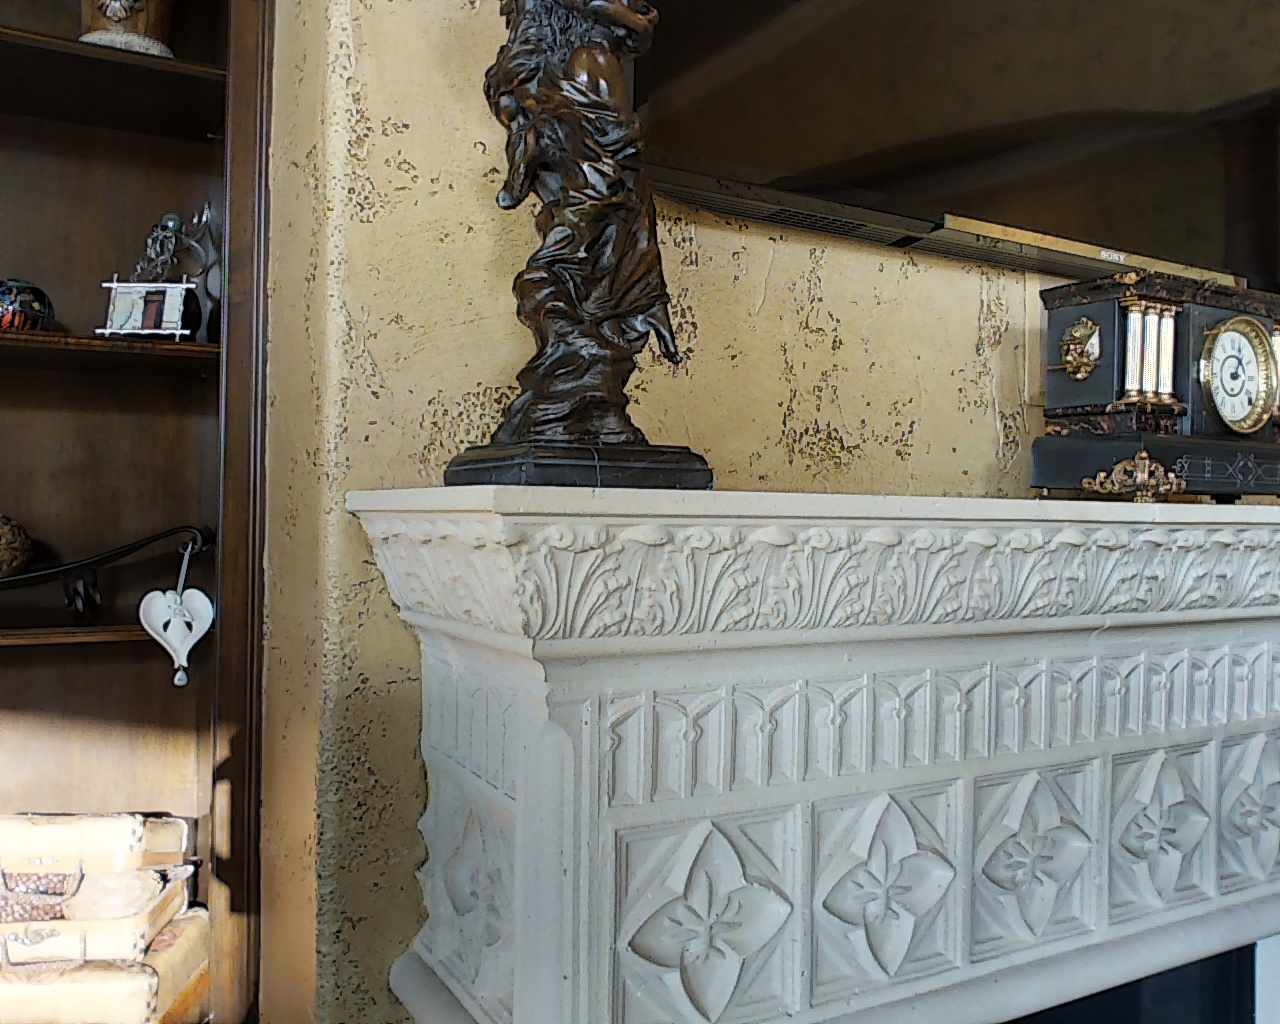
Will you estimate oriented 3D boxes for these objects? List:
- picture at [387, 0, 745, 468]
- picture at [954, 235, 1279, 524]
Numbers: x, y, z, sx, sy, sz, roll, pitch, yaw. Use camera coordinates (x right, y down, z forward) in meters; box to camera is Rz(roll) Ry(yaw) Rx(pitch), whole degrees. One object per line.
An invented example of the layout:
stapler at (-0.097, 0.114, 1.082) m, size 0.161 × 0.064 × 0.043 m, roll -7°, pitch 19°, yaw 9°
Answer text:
picture at (-0.080, -0.360, 1.010) m, size 0.230 × 0.620 × 0.290 m, roll 1°, pitch 0°, yaw -29°
picture at (0.720, -0.150, 1.480) m, size 0.500 × 0.330 × 0.280 m, roll 1°, pitch 0°, yaw -29°
